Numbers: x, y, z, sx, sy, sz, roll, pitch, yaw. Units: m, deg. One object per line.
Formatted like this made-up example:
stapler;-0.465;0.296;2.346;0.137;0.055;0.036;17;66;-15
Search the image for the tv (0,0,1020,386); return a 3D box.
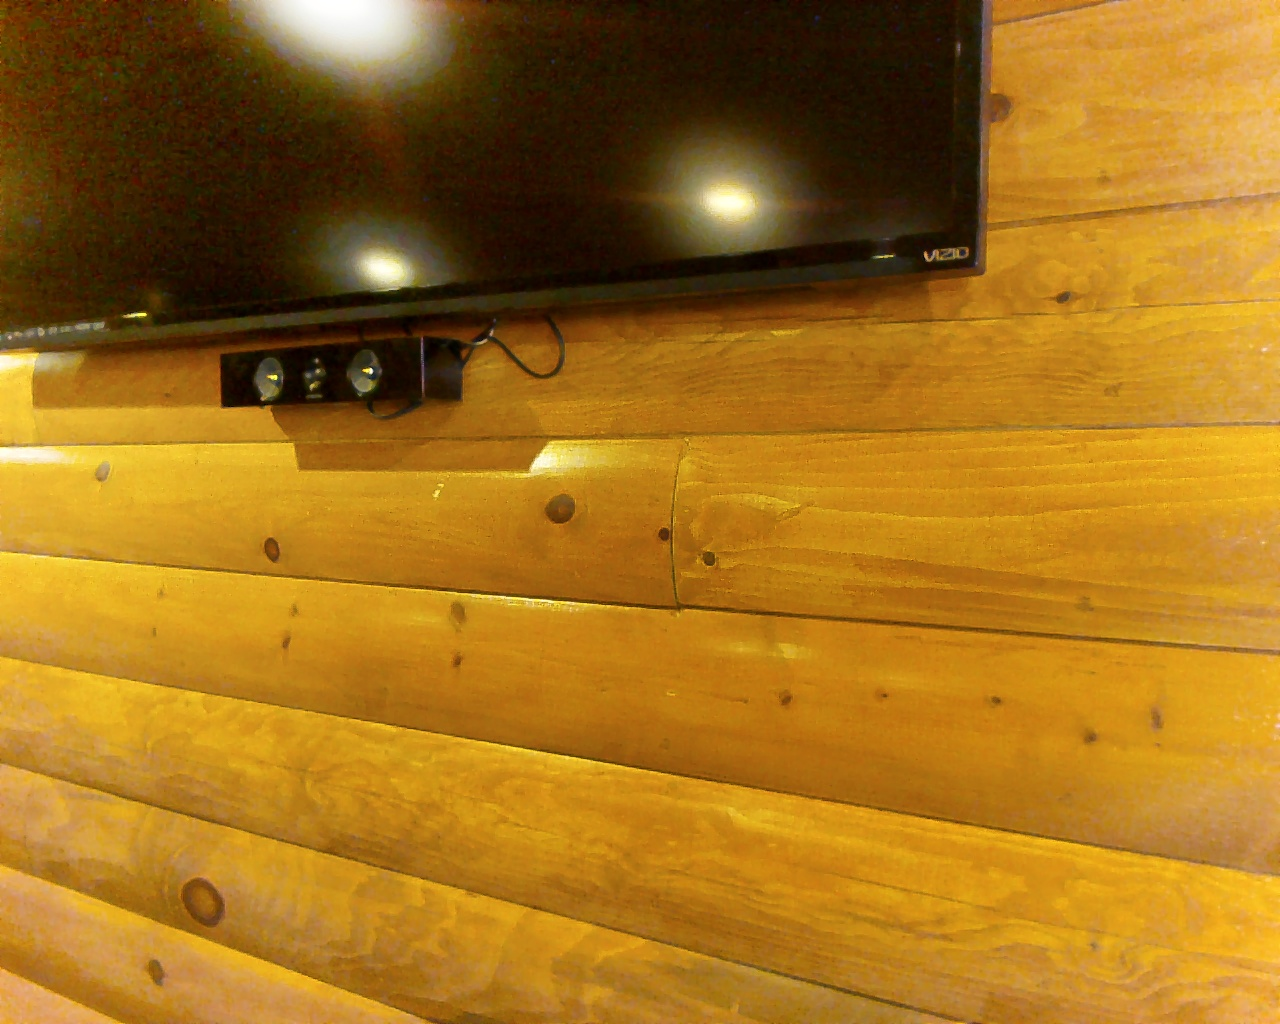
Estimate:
tv;-0.370;-0.710;1.340;1.610;1.060;0.130;3;2;30
